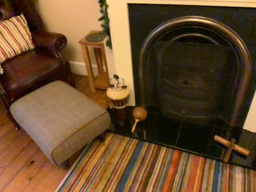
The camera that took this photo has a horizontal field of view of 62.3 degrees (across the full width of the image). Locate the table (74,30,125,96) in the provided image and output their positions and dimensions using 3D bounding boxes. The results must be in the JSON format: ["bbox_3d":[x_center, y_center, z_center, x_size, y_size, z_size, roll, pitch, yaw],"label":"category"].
[{"bbox_3d":[-0.270,-0.340,2.210,0.340,0.590,0.280,9,40,19],"label":"table"}]

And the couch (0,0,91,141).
[{"bbox_3d":[-1.100,-0.430,2.020,0.960,1.080,0.890,25,47,34],"label":"couch"}]

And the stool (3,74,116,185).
[{"bbox_3d":[-0.540,0.210,1.700,0.710,0.380,0.500,28,49,36],"label":"stool"}]
